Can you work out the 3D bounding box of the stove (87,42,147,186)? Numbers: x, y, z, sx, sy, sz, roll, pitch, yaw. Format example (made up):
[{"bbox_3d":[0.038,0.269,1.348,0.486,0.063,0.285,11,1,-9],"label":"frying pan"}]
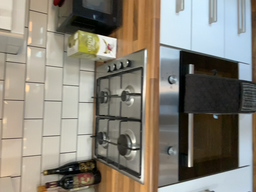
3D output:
[{"bbox_3d":[-0.090,0.080,1.120,0.580,0.020,0.590,-3,85,57],"label":"stove"}]
